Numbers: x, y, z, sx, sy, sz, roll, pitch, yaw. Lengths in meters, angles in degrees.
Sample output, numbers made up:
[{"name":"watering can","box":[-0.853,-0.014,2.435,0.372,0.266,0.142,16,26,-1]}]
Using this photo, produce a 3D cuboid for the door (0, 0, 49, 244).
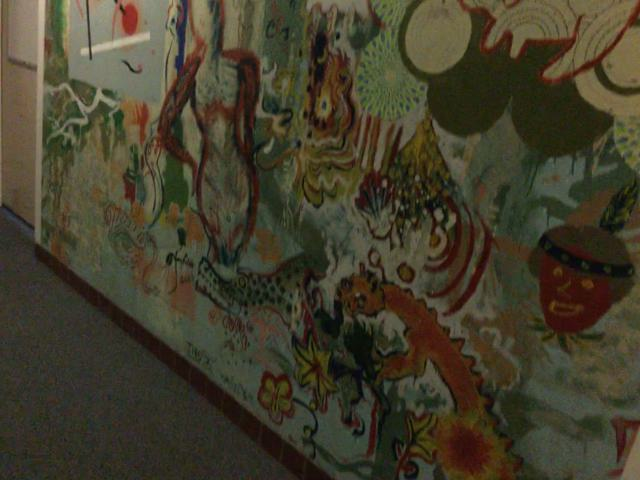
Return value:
[{"name":"door","box":[-1.820,-1.070,3.310,0.740,2.060,0.160,24,24,35]}]
